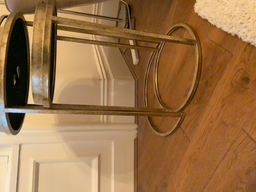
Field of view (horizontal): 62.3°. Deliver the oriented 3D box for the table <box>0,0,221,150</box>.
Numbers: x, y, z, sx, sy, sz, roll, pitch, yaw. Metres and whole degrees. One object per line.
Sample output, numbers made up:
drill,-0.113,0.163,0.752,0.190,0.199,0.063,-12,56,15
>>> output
table,-0.150,-0.120,0.920,0.600,0.670,0.500,118,149,-53
